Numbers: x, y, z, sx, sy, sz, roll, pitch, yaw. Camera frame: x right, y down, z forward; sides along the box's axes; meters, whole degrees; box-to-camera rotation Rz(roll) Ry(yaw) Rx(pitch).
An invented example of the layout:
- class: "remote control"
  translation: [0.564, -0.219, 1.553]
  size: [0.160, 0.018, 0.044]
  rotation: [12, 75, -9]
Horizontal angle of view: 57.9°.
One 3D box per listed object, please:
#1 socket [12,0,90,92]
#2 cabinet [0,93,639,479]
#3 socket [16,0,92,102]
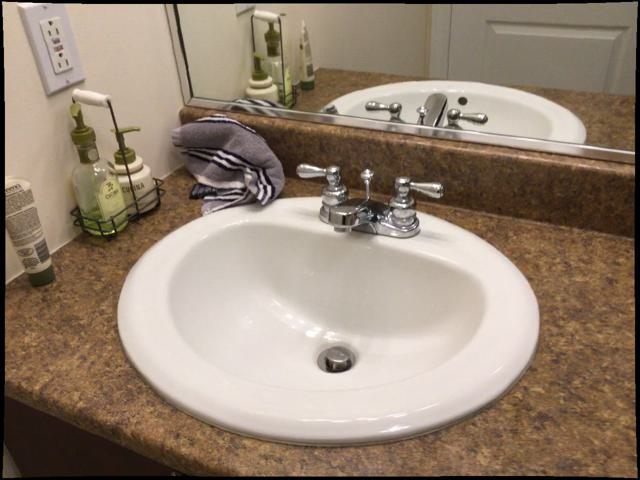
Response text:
- class: "socket"
  translation: [-0.360, -0.270, 0.780]
  size: [0.020, 0.120, 0.070]
  rotation: [12, 37, 22]
- class: "cabinet"
  translation: [0.030, 0.350, 0.940]
  size: [0.829, 0.931, 0.570]
  rotation: [12, 37, 22]
- class: "socket"
  translation: [-0.360, -0.260, 0.790]
  size: [0.020, 0.120, 0.070]
  rotation: [12, 37, 22]
